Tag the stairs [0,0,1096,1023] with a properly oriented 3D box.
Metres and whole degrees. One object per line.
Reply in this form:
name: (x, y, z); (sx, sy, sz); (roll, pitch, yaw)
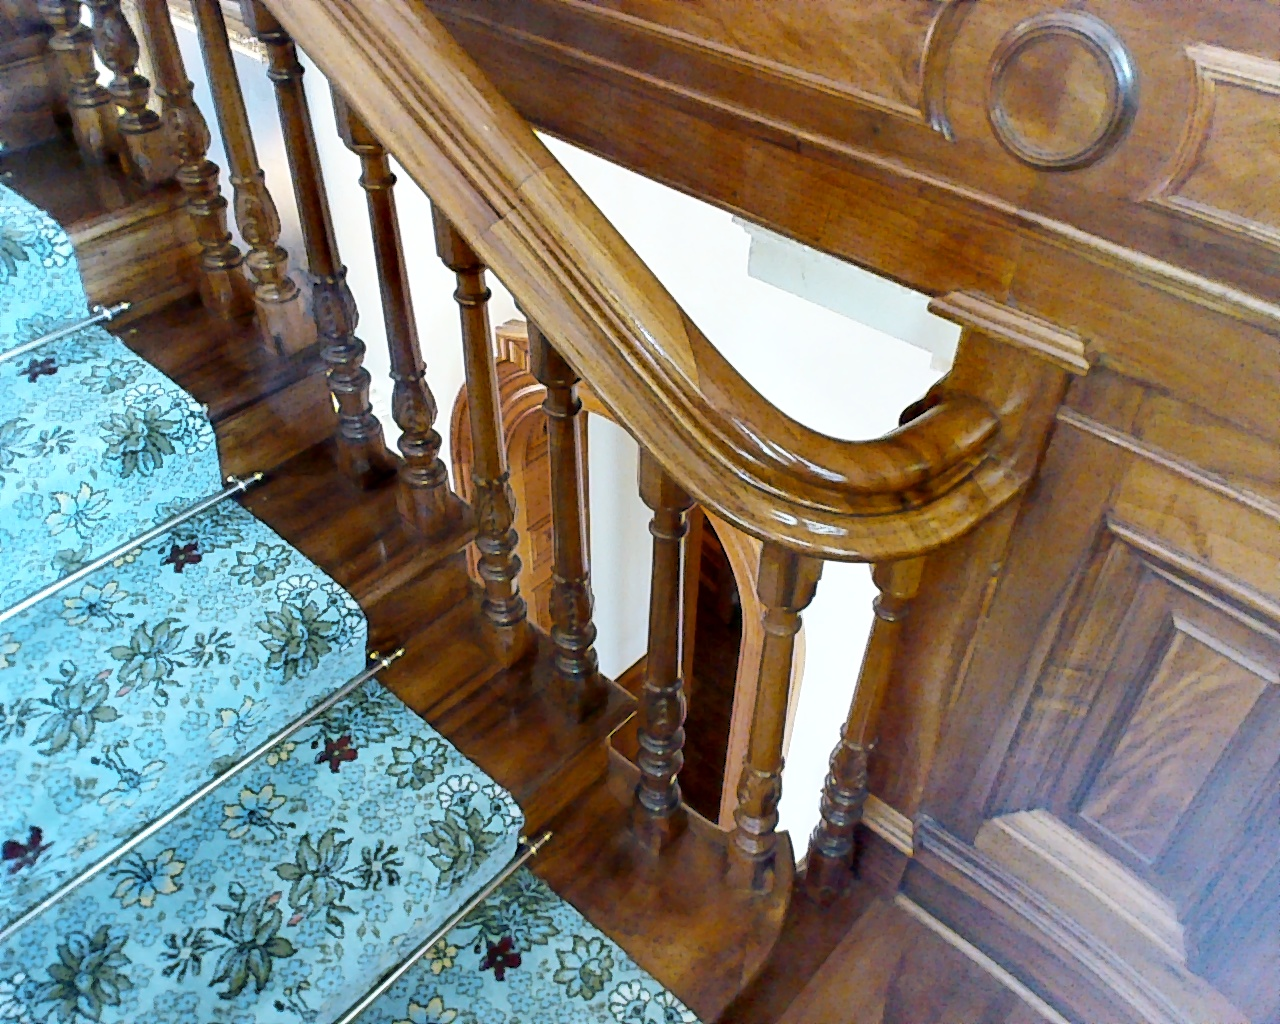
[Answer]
stairs: (-1.090, -0.210, 1.300); (2.590, 1.570, 1.160); (33, 51, 30)
